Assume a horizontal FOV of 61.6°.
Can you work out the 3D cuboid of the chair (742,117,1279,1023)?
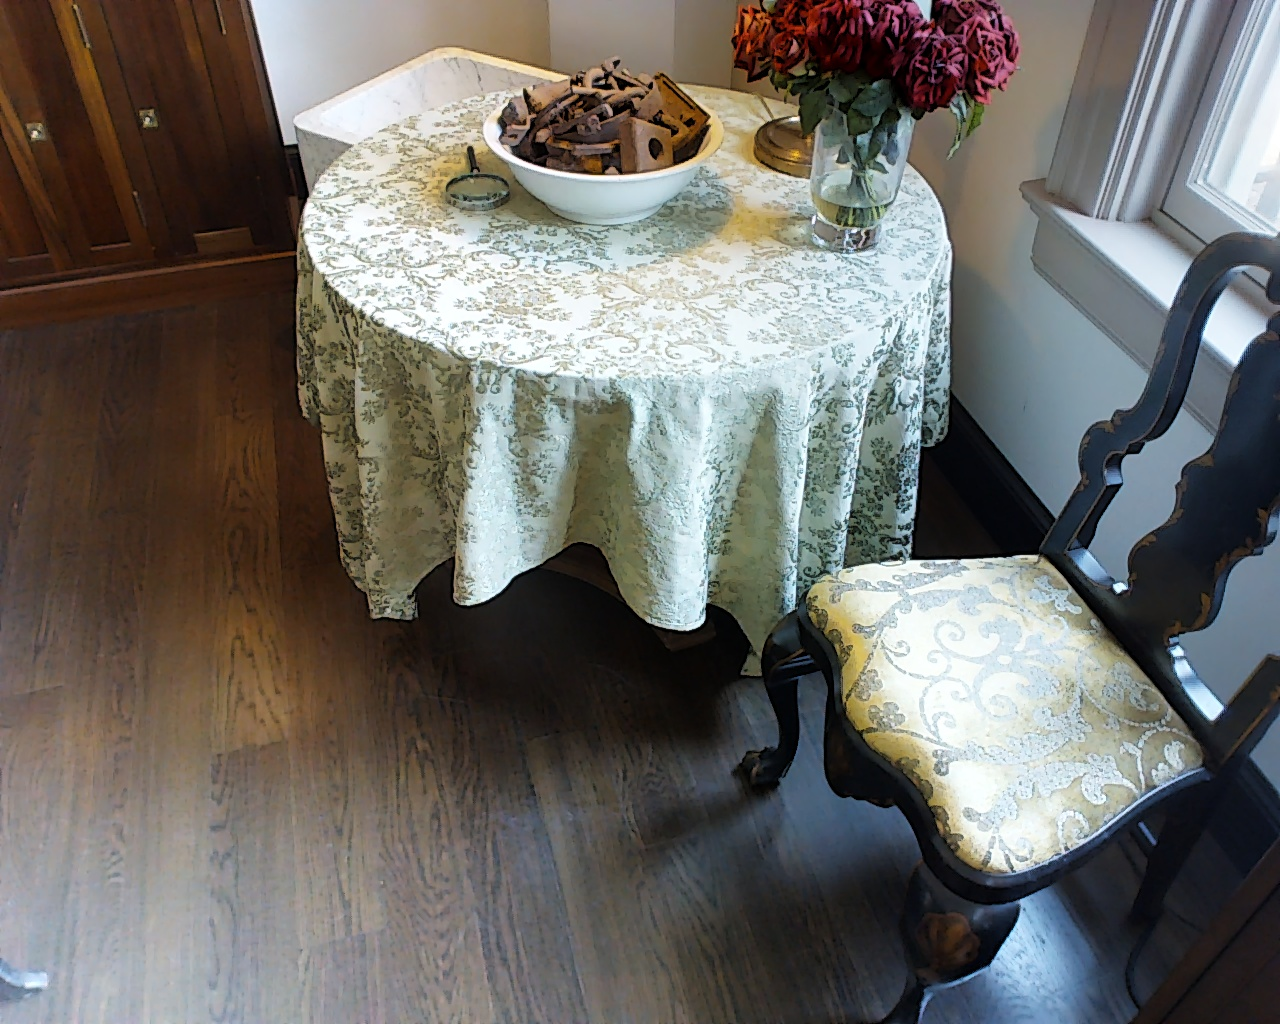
[{"bbox_3d":[0.540,0.150,1.310,0.620,1.020,0.500,-12,44,-13],"label":"chair"}]

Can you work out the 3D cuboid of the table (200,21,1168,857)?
[{"bbox_3d":[-0.050,-0.240,1.960,1.190,0.770,1.210,-10,44,-11],"label":"table"}]

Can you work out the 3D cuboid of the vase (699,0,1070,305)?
[{"bbox_3d":[0.310,-0.590,1.530,0.340,0.400,0.380,-10,44,-11],"label":"vase"}]
